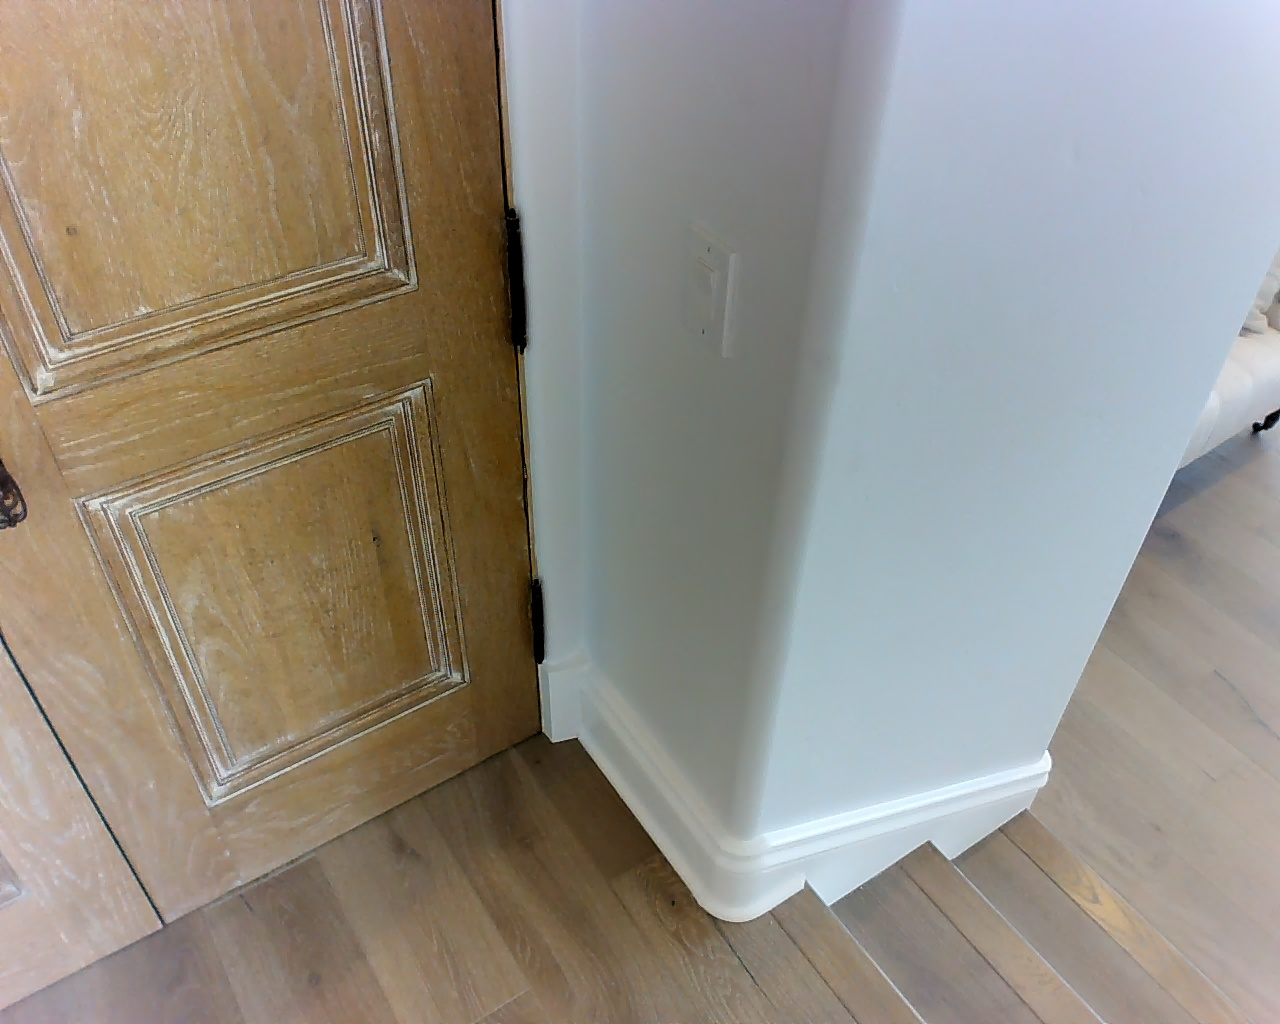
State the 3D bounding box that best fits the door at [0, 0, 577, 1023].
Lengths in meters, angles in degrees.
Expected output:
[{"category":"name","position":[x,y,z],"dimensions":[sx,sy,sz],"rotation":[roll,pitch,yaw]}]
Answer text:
[{"category":"door","position":[-0.700,-0.250,0.880],"dimensions":[1.450,2.510,0.070],"rotation":[-24,48,-26]}]
